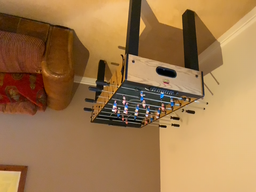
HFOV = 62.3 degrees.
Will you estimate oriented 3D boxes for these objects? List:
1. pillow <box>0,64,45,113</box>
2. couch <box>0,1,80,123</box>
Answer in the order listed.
[{"bbox_3d":[-1.200,-0.080,2.260,0.500,0.370,0.220,-17,170,-25],"label":"pillow"},{"bbox_3d":[-1.360,-0.290,2.200,1.480,0.750,1.150,9,158,-17],"label":"couch"}]
